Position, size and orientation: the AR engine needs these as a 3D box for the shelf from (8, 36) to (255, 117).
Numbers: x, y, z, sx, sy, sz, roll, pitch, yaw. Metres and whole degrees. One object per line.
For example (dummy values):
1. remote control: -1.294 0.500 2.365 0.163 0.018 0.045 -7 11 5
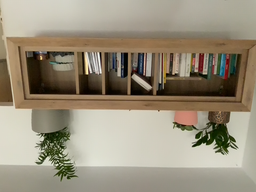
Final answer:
1. shelf: 0.060 -0.150 1.390 1.440 0.440 0.350 1 -164 0

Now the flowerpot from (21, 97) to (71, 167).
1. flowerpot: -0.560 0.250 1.500 0.240 0.430 0.220 1 -164 0
